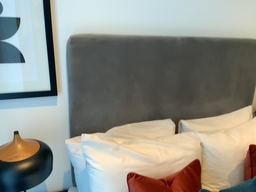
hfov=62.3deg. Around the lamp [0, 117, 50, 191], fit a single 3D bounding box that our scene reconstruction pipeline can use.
[{"bbox_3d":[-0.530,0.420,1.090,0.220,0.520,0.300,-5,19,-21],"label":"lamp"}]
